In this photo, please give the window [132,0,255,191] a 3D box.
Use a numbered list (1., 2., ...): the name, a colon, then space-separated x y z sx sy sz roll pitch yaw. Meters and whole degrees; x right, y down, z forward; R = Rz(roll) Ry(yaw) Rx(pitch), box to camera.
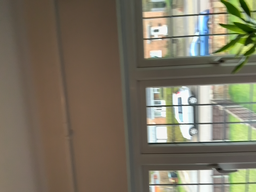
1. window: 0.500 0.110 1.240 0.080 0.890 1.450 -71 -21 -82
